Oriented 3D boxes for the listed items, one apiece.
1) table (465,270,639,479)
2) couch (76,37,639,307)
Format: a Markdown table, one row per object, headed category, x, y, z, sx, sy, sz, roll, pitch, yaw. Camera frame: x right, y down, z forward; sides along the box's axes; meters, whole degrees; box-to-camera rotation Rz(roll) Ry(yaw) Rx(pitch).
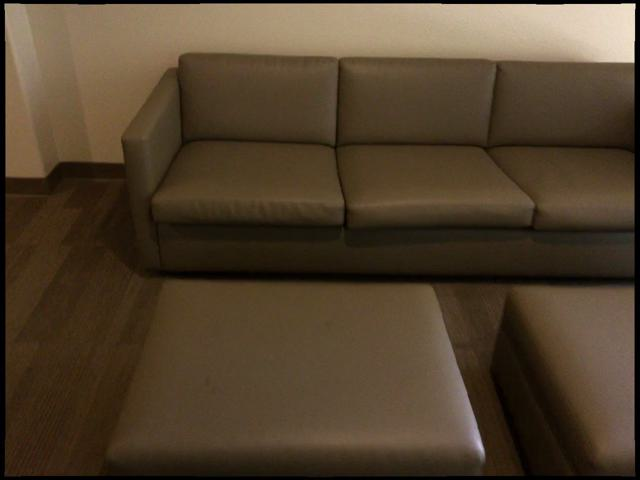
| category | x | y | z | sx | sy | sz | roll | pitch | yaw |
| --- | --- | --- | --- | --- | --- | --- | --- | --- | --- |
| table | 0.938 | 0.451 | 1.610 | 0.818 | 0.391 | 0.690 | -1 | 35 | -6 |
| couch | 0.329 | -0.341 | 2.470 | 2.265 | 0.711 | 1.001 | -1 | 34 | -6 |
